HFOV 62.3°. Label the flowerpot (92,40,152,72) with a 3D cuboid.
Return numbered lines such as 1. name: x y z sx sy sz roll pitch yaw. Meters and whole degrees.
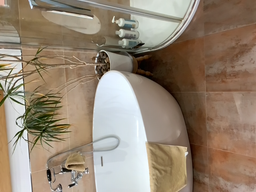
1. flowerpot: -0.050 -0.370 2.070 0.240 0.530 0.240 -3 92 52
